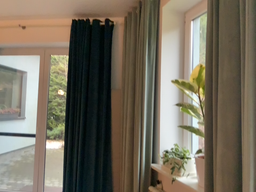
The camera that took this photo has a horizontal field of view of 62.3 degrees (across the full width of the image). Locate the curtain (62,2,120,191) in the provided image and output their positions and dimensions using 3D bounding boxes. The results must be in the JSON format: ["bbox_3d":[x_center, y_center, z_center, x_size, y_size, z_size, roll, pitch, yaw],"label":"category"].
[{"bbox_3d":[-0.500,0.210,2.960,0.610,2.910,0.350,2,-3,9],"label":"curtain"}]

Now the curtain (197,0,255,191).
[{"bbox_3d":[0.590,0.140,1.080,0.210,2.850,0.670,2,-3,-3],"label":"curtain"}]

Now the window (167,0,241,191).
[{"bbox_3d":[0.630,-0.150,1.880,0.200,1.690,0.690,3,-3,-19],"label":"window"}]
